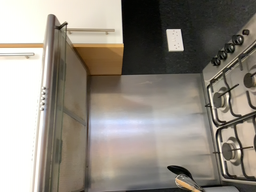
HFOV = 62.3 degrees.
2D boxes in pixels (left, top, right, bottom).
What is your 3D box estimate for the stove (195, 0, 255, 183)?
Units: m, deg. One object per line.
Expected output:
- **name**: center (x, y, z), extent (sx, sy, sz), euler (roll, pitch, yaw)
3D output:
- **stove**: center (0.430, 0.030, 0.850), extent (0.520, 0.040, 0.580), euler (104, 164, -72)
